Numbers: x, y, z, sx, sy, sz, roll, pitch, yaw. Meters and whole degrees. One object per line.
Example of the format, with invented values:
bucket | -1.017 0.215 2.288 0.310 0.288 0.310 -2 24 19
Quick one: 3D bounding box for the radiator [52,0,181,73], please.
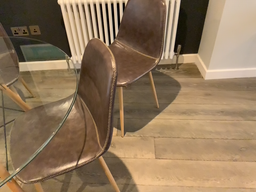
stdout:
radiator | -0.080 -0.550 1.930 1.010 0.700 0.130 -2 41 -1
